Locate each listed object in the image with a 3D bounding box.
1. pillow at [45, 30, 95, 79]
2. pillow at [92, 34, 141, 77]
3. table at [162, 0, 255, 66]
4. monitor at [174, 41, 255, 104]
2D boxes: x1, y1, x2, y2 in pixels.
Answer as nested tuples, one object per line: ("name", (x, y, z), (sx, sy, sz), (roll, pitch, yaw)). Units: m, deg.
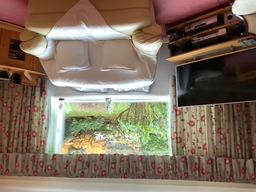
("pillow", (-0.740, -0.530, 2.730), (0.470, 0.420, 0.150), (-31, 169, -4))
("pillow", (-0.140, -0.500, 2.640), (0.510, 0.350, 0.130), (-22, 169, 1))
("table", (1.170, -0.840, 2.880), (1.270, 0.510, 0.610), (-8, 168, 41))
("monitor", (1.100, -0.260, 2.750), (1.100, 0.660, 0.050), (-6, 168, 41))
